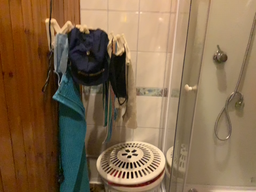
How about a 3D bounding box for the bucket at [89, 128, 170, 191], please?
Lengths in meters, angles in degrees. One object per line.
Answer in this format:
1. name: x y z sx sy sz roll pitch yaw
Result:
1. bucket: -0.010 0.650 1.540 0.470 0.680 0.450 2 17 -2
